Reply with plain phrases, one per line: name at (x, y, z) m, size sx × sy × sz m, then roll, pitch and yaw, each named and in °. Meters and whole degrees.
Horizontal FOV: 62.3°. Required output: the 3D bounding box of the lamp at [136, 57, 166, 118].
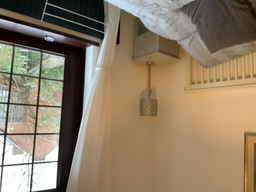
lamp at (0.260, -0.080, 2.390) m, size 0.270 × 0.640 × 0.190 m, roll 6°, pitch 173°, yaw -37°

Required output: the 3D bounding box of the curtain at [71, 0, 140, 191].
curtain at (-0.190, 0.060, 2.080) m, size 0.630 × 2.380 × 0.130 m, roll 6°, pitch 173°, yaw -38°
